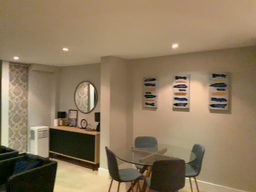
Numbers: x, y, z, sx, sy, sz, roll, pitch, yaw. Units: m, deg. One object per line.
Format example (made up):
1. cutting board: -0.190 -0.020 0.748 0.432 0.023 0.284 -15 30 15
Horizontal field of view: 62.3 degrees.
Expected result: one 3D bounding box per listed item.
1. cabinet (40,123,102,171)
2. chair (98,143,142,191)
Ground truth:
1. cabinet: -1.380 1.130 5.020 1.610 0.800 0.460 1 1 34
2. chair: -0.130 1.180 3.170 0.520 0.820 0.410 1 1 -29
